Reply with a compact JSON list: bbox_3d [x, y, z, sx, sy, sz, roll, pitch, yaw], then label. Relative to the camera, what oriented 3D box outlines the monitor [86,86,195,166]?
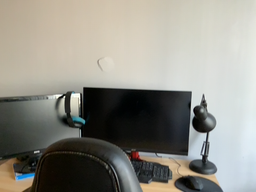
[{"bbox_3d":[0.060,0.170,1.240,0.600,0.420,0.060,4,9,7],"label":"monitor"}]

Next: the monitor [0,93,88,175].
[{"bbox_3d":[-0.480,0.190,1.160,0.500,0.390,0.080,-2,12,-33],"label":"monitor"}]
